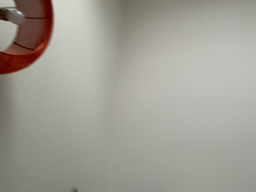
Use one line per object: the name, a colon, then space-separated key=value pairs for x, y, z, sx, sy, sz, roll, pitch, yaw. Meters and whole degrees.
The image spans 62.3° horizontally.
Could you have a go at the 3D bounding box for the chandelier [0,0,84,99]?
chandelier: x=-0.540 y=-0.330 z=0.840 sx=0.530 sy=0.360 sz=0.480 roll=-56 pitch=138 yaw=-49
